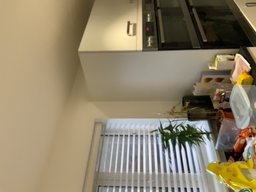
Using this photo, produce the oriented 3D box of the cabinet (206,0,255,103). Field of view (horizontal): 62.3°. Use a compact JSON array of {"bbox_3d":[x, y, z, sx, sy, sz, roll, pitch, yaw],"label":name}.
[{"bbox_3d":[1.360,-0.610,2.170,0.610,0.710,1.260,86,-175,-47],"label":"cabinet"}]
